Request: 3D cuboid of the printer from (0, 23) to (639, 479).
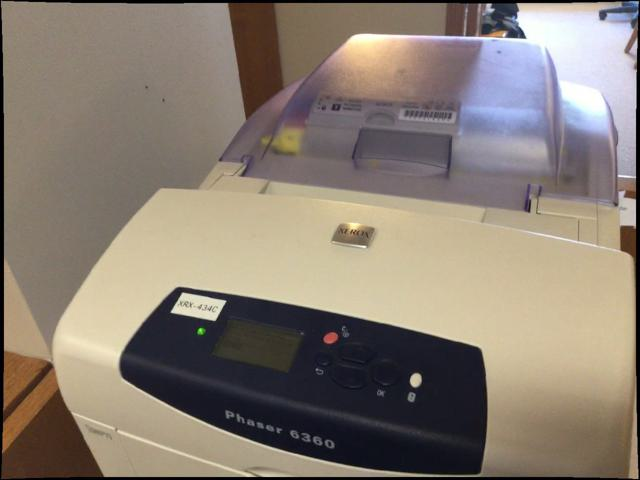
[{"bbox_3d":[0.110,0.160,0.690,0.529,0.601,0.650,11,40,20],"label":"printer"}]
